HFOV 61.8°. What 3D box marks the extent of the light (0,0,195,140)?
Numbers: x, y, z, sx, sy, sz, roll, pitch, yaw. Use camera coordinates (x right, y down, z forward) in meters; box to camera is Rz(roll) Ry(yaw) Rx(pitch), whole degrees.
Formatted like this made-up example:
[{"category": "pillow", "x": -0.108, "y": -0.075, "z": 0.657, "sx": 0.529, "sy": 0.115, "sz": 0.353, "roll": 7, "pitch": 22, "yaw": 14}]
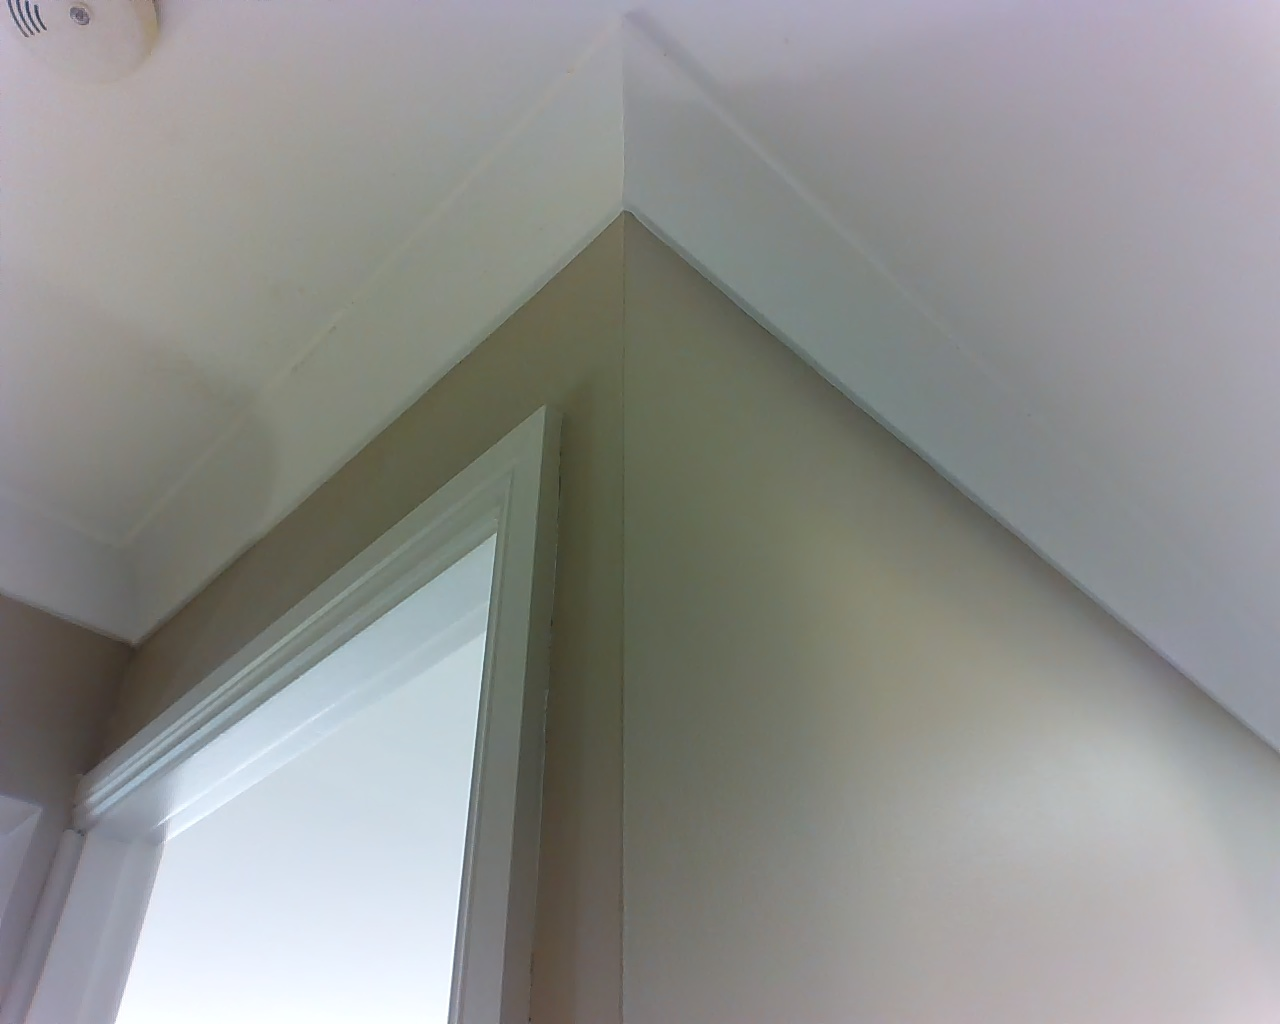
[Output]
[{"category": "light", "x": -0.450, "y": -0.400, "z": 0.850, "sx": 0.130, "sy": 0.140, "sz": 0.050, "roll": 33, "pitch": 18, "yaw": -33}]
